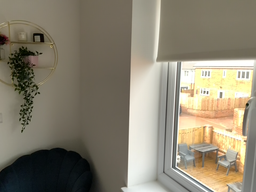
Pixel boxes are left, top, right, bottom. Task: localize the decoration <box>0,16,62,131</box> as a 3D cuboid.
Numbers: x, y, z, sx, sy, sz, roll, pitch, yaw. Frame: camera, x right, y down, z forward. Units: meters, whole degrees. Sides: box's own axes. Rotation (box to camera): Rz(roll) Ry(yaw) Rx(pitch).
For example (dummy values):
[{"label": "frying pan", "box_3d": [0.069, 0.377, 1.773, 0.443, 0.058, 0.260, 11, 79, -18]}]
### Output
[{"label": "decoration", "box_3d": [-0.890, -0.180, 1.810, 0.590, 0.890, 0.180, -2, 9, -26]}]
